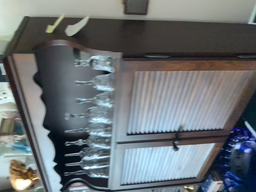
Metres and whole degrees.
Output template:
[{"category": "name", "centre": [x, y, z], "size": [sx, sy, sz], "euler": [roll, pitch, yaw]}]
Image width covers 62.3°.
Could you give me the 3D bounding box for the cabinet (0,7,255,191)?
[{"category": "cabinet", "centre": [0.030, 0.090, 0.920], "size": [0.310, 0.790, 0.790], "euler": [-103, 15, -49]}]
